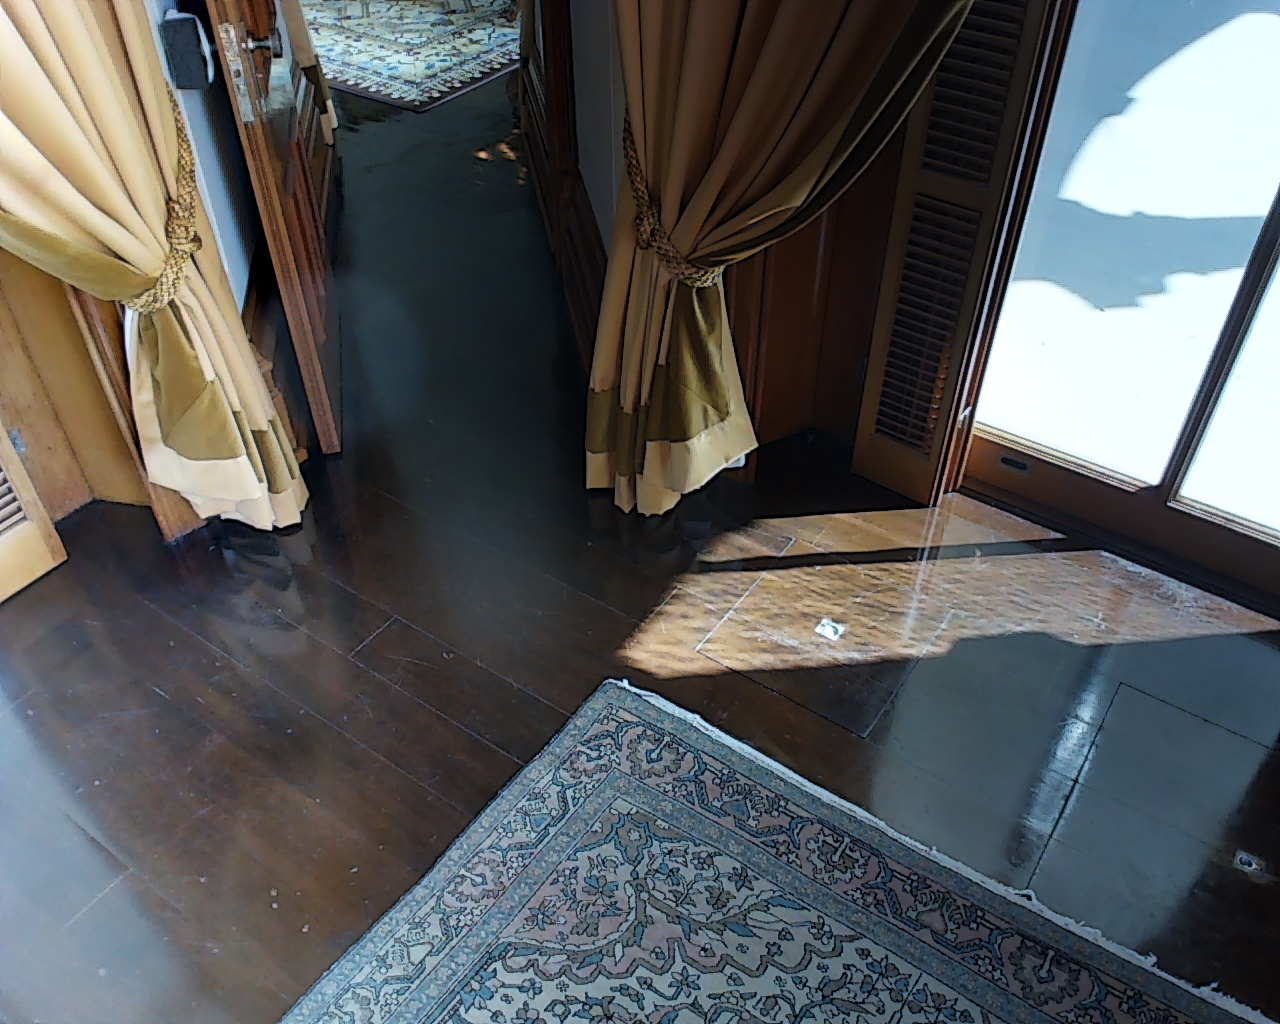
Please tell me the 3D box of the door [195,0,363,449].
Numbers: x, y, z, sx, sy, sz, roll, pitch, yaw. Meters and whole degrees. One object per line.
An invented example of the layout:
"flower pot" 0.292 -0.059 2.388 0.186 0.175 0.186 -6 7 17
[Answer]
"door" -0.780 -1.250 2.030 0.090 2.250 0.780 -7 42 -7
